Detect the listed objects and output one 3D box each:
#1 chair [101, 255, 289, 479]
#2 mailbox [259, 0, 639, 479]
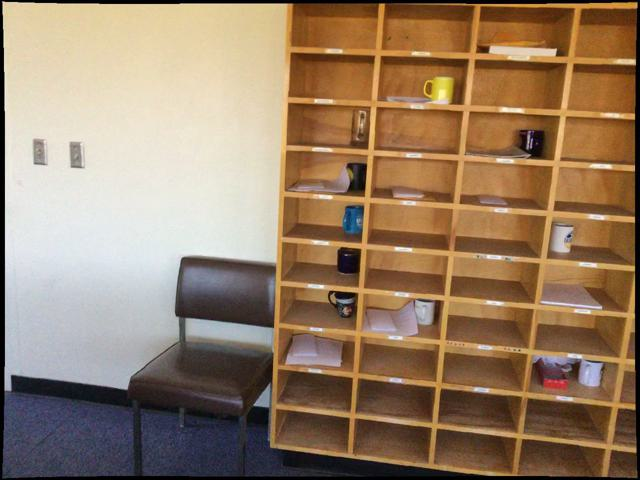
[{"bbox_3d":[-0.469,0.521,2.390,0.559,0.772,0.570,3,13,10],"label":"chair"},{"bbox_3d":[2.194,0.120,1.950,4.818,1.945,0.480,3,13,10],"label":"mailbox"}]
